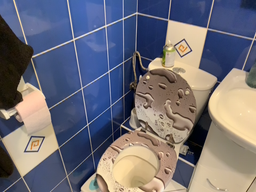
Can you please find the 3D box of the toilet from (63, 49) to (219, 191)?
[{"bbox_3d":[0.100,0.280,1.190,0.390,0.820,0.660,25,44,28],"label":"toilet"}]
